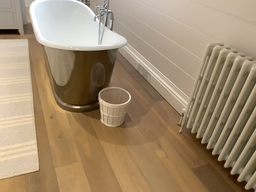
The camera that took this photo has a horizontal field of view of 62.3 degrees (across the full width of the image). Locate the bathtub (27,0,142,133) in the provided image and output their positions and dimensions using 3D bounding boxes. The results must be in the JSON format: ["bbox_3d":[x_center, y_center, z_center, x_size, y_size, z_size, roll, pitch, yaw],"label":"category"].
[{"bbox_3d":[-0.590,-0.490,2.240,0.700,0.700,1.620,-8,38,-25],"label":"bathtub"}]
